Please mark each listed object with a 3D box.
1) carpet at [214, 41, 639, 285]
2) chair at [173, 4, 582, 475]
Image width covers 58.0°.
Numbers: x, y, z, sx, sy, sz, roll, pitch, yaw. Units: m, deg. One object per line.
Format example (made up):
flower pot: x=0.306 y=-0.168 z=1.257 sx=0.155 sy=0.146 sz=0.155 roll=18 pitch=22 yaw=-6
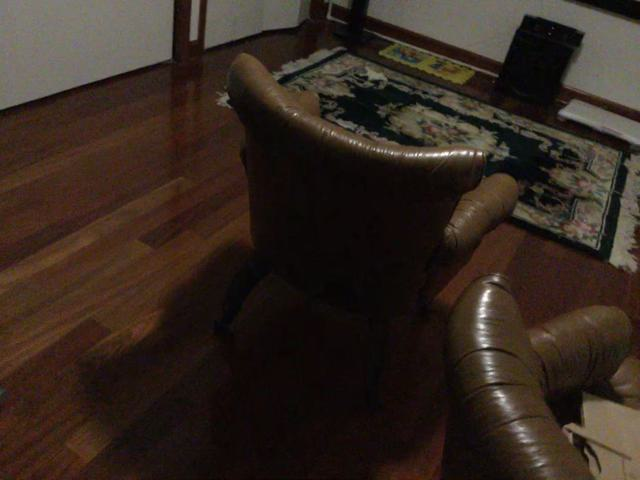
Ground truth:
carpet: x=0.620 y=-0.530 z=2.850 sx=1.890 sy=0.060 sz=1.230 roll=25 pitch=39 yaw=17
chair: x=0.120 y=-0.050 z=1.490 sx=0.670 sy=0.790 sz=0.690 roll=25 pitch=39 yaw=17
